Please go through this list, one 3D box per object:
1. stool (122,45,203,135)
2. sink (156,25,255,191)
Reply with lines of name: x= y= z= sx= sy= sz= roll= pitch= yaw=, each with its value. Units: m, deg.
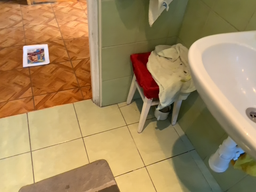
stool: x=0.180 y=-0.030 z=1.340 sx=0.310 sy=0.440 sz=0.300 roll=-12 pitch=52 yaw=-18
sink: x=0.390 y=0.020 z=0.610 sx=0.410 sy=0.160 sz=0.520 roll=-12 pitch=52 yaw=-18
